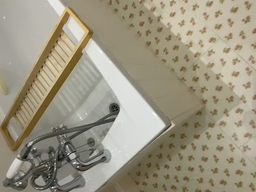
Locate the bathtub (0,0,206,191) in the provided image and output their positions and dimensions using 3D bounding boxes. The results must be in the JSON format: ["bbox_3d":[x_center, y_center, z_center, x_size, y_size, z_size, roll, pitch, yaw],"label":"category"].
[{"bbox_3d":[-0.450,-0.310,1.250,1.660,0.560,0.690,50,116,17],"label":"bathtub"}]
